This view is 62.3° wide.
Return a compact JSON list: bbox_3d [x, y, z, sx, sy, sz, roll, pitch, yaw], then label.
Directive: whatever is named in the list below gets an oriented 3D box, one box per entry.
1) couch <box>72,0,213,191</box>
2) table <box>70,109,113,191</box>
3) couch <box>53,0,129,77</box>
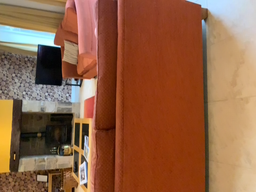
[{"bbox_3d":[0.070,0.130,1.880,0.900,0.880,2.280,172,100,-64],"label":"couch"},{"bbox_3d":[-0.730,0.900,3.990,1.420,0.400,1.240,168,104,-64],"label":"table"},{"bbox_3d":[-0.790,-1.100,3.890,1.880,0.880,1.050,164,107,-64],"label":"couch"}]
